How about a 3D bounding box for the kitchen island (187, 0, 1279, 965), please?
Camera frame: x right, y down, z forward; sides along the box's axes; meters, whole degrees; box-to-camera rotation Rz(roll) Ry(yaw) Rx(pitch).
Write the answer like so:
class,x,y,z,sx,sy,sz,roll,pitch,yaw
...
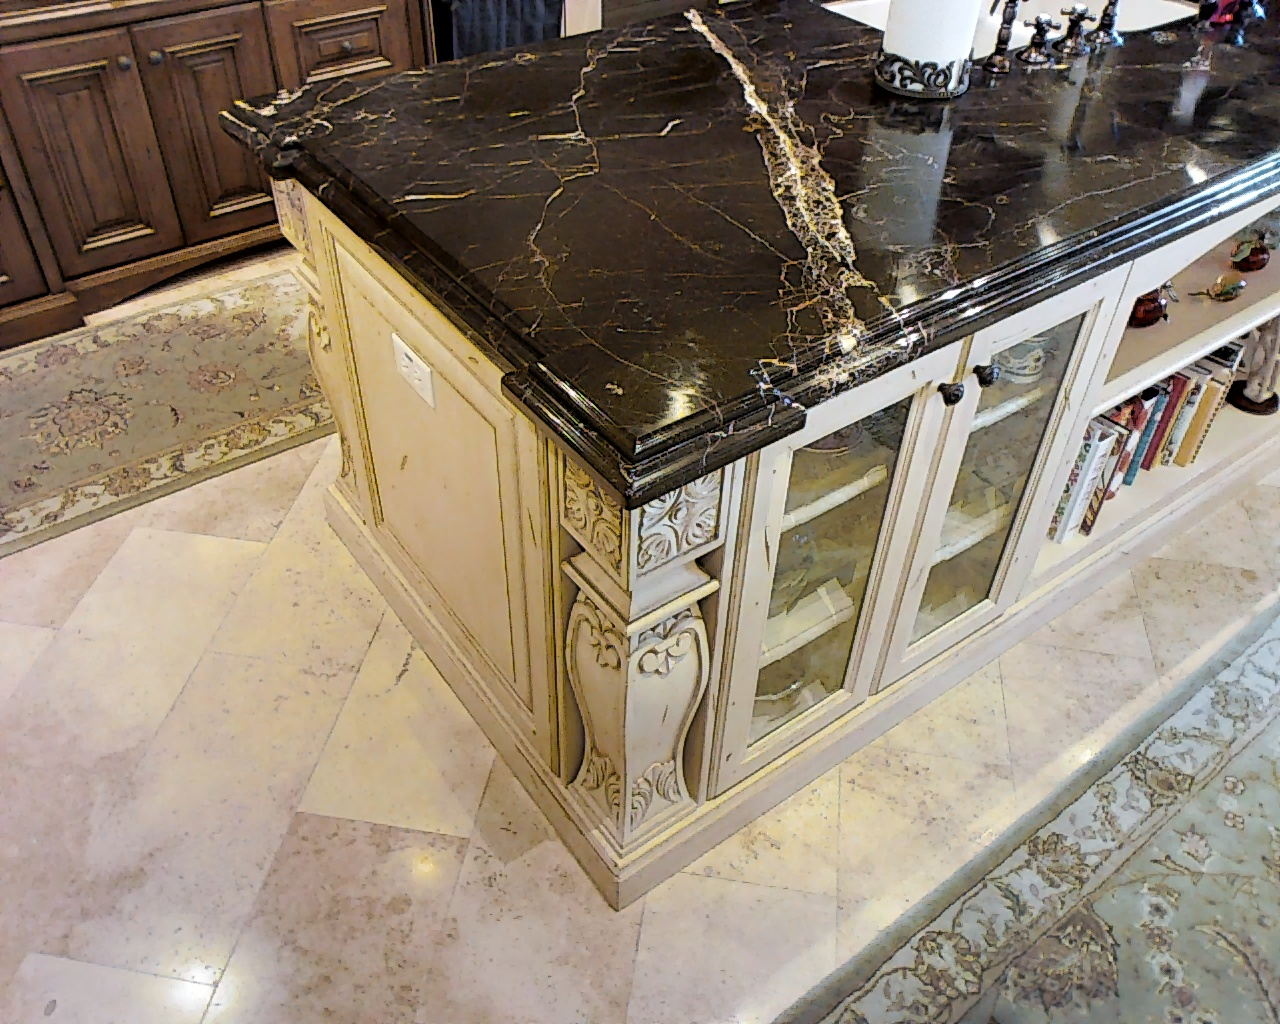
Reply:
class,x,y,z,sx,sy,sz,roll,pitch,yaw
kitchen island,0.920,-0.610,2.390,3.200,0.990,1.210,-25,48,-27
